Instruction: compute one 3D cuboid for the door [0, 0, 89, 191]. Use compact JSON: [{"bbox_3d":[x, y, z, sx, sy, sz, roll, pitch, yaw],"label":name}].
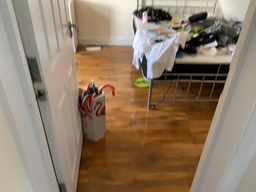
[{"bbox_3d":[-0.350,-0.240,1.120,0.060,2.050,0.930,1,34,-3],"label":"door"}]
